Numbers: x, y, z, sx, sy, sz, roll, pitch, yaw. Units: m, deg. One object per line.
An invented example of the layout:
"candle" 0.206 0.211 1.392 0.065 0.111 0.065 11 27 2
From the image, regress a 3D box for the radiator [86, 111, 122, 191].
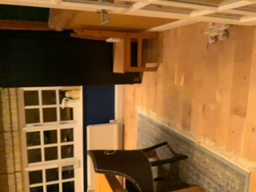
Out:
"radiator" -0.430 1.190 3.880 0.090 0.630 1.800 -159 67 -67
